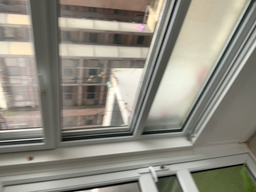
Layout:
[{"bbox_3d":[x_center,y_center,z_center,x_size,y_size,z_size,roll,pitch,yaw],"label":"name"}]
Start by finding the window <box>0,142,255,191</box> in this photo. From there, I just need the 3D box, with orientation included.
[{"bbox_3d":[0.040,0.740,1.340,0.110,2.220,0.740,105,156,-43],"label":"window"}]
